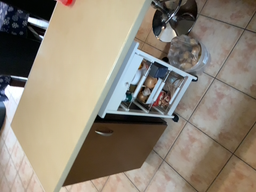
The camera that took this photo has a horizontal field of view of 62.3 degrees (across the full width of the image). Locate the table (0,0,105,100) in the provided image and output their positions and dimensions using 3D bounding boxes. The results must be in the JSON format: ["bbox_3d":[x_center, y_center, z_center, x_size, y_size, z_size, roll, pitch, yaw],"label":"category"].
[{"bbox_3d":[-1.100,-0.960,2.490,1.030,0.890,1.630,40,109,36],"label":"table"}]
